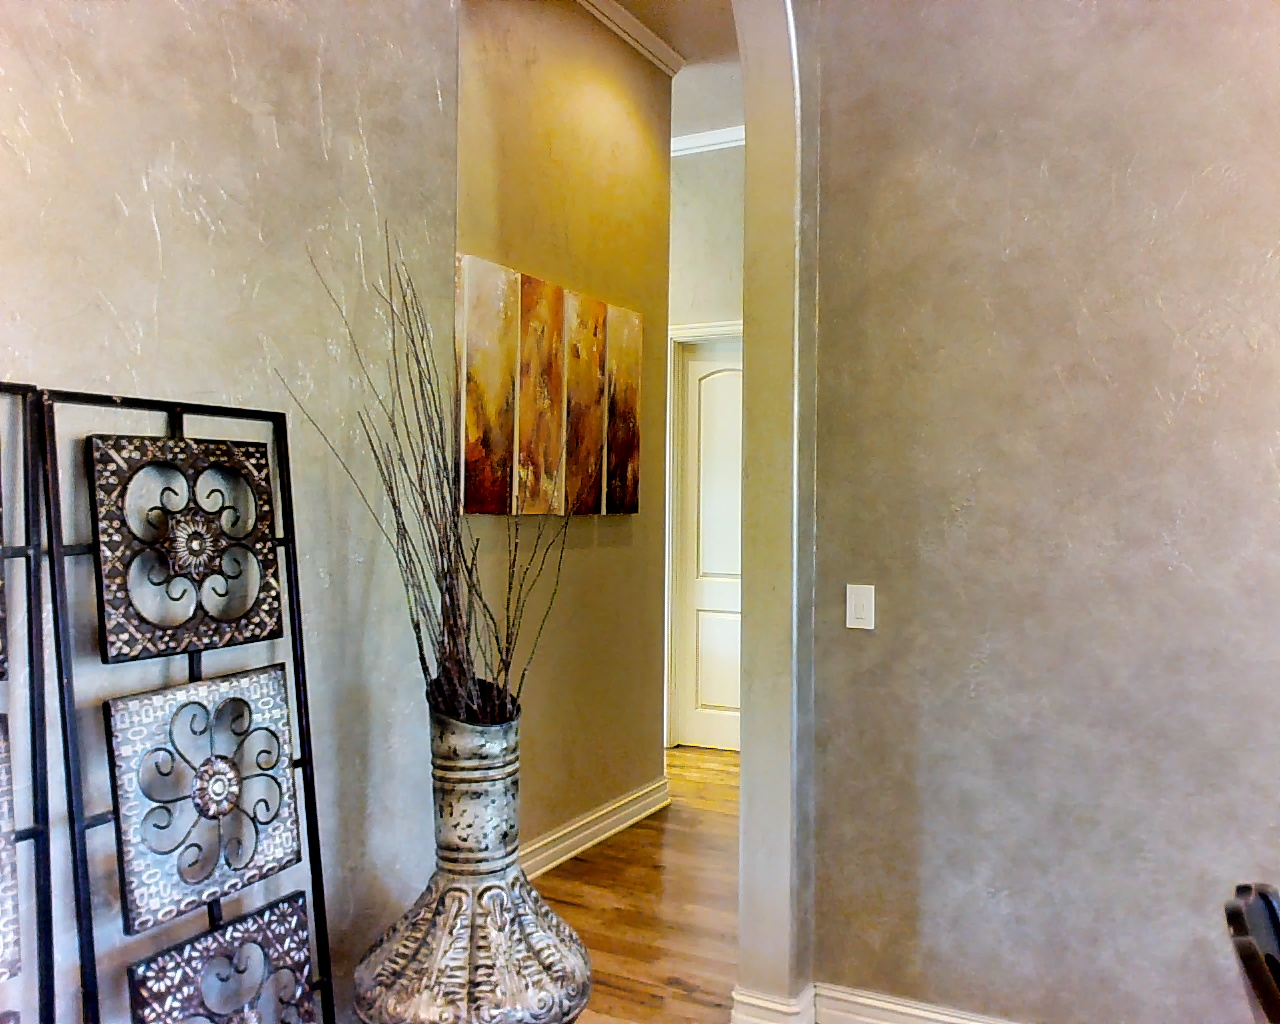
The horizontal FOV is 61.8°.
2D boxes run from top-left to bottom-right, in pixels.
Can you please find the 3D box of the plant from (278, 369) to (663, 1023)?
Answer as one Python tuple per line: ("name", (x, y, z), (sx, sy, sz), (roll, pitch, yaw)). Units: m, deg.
("plant", (-0.200, 0.270, 1.300), (0.350, 0.830, 0.290), (0, 0, 30))
